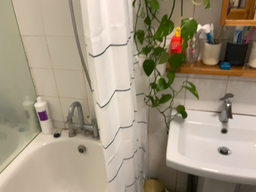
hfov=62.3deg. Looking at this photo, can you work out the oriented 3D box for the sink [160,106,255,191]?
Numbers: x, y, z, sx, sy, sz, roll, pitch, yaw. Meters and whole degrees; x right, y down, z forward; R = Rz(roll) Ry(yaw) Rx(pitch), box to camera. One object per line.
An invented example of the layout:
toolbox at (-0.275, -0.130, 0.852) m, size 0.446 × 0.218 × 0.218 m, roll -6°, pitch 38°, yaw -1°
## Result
sink at (0.490, 0.280, 1.070) m, size 0.590 × 0.210 × 0.410 m, roll 6°, pitch 30°, yaw 14°
